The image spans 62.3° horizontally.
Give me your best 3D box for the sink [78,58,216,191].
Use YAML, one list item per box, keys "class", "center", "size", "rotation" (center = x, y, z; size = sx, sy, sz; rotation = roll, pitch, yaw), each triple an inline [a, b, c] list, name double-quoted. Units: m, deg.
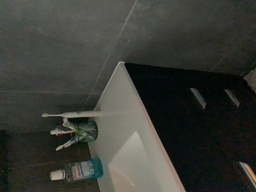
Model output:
- class: "sink"
  center: [0.070, 0.390, 0.710]
  size: [0.470, 0.140, 0.990]
  rotation: [-55, 46, 39]
